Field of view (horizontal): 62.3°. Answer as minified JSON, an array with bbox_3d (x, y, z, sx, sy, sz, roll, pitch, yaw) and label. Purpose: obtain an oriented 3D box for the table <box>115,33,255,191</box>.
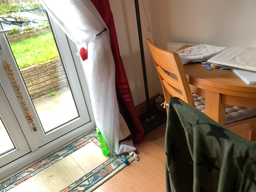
[{"bbox_3d":[0.560,0.110,1.340,0.650,0.790,1.110,-26,31,-29],"label":"table"}]
